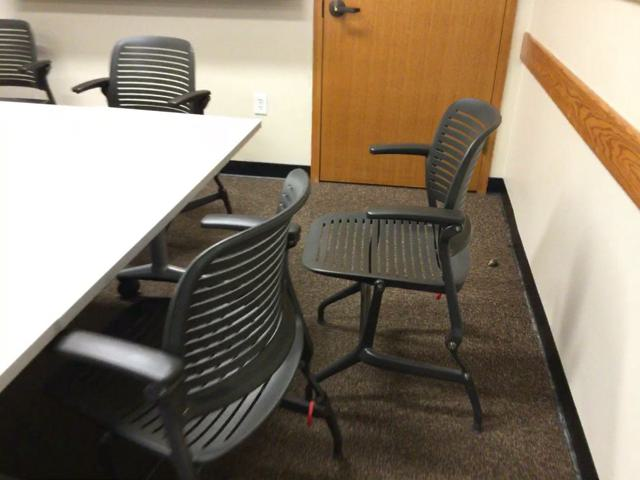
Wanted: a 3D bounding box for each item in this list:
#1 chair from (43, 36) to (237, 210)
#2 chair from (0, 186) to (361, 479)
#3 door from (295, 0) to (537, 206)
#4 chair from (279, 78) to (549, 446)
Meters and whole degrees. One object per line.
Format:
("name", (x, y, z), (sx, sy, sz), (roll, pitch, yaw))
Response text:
("chair", (-0.750, -0.540, 2.570), (0.640, 0.610, 0.480), (7, 25, 7))
("chair", (-0.260, 0.310, 1.290), (0.590, 0.620, 0.650), (7, 25, 7))
("door", (0.470, -1.210, 2.770), (1.090, 2.070, 0.130), (7, 25, 7))
("chair", (0.240, 0.030, 1.760), (0.580, 0.880, 0.600), (7, 25, 7))
